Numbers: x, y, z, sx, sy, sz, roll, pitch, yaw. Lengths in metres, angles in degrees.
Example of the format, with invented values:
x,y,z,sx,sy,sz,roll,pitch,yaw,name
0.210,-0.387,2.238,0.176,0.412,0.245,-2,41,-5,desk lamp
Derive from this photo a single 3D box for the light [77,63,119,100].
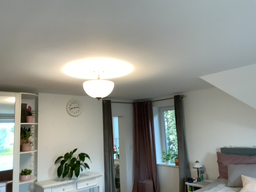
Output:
x,y,z,sx,sy,sz,roll,pitch,yaw,name
-0.370,-0.180,2.760,0.390,0.450,0.420,-46,134,-87,light

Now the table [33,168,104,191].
x,y,z,sx,sy,sz,roll,pitch,yaw,name
-1.070,1.930,3.970,0.400,1.230,0.880,-12,-102,47,table
